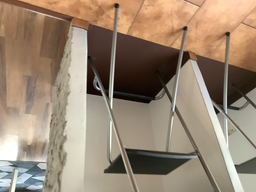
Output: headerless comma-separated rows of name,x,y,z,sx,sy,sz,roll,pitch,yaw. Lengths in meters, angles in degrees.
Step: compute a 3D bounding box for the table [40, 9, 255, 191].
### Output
table,0.320,0.280,1.300,1.520,1.040,0.690,8,143,-20
